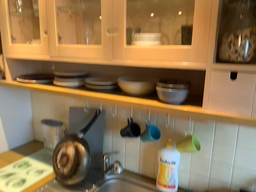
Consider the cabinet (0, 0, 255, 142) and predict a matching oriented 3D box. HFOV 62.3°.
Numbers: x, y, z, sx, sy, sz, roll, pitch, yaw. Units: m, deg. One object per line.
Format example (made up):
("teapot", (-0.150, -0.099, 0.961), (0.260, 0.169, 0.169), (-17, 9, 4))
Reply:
("cabinet", (-0.100, -0.350, 1.060), (1.660, 0.800, 0.280), (8, 14, 28))
